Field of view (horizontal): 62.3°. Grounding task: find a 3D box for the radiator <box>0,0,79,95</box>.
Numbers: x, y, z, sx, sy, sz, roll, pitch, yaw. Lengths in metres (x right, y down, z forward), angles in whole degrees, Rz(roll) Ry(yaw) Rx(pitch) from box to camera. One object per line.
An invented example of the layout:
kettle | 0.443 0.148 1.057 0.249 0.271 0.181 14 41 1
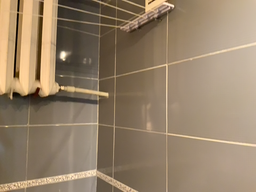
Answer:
radiator | -0.400 -0.330 0.950 0.290 0.620 0.220 4 -5 -33
